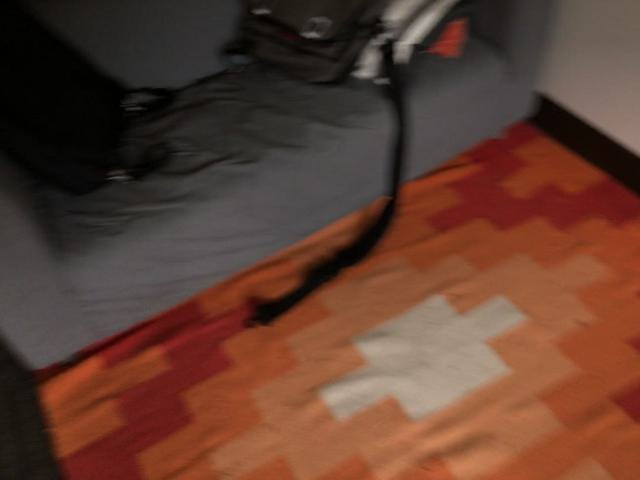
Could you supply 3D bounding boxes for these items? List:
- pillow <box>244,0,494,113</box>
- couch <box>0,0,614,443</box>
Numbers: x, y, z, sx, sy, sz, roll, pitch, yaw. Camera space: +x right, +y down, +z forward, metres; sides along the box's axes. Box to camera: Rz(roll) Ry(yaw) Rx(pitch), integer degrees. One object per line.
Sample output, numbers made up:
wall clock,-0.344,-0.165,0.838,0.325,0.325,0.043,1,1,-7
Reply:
pillow,0.110,-0.710,1.680,0.480,0.280,0.600,-22,51,-18
couch,-0.210,-0.370,1.620,1.820,0.630,0.840,-26,52,-21
